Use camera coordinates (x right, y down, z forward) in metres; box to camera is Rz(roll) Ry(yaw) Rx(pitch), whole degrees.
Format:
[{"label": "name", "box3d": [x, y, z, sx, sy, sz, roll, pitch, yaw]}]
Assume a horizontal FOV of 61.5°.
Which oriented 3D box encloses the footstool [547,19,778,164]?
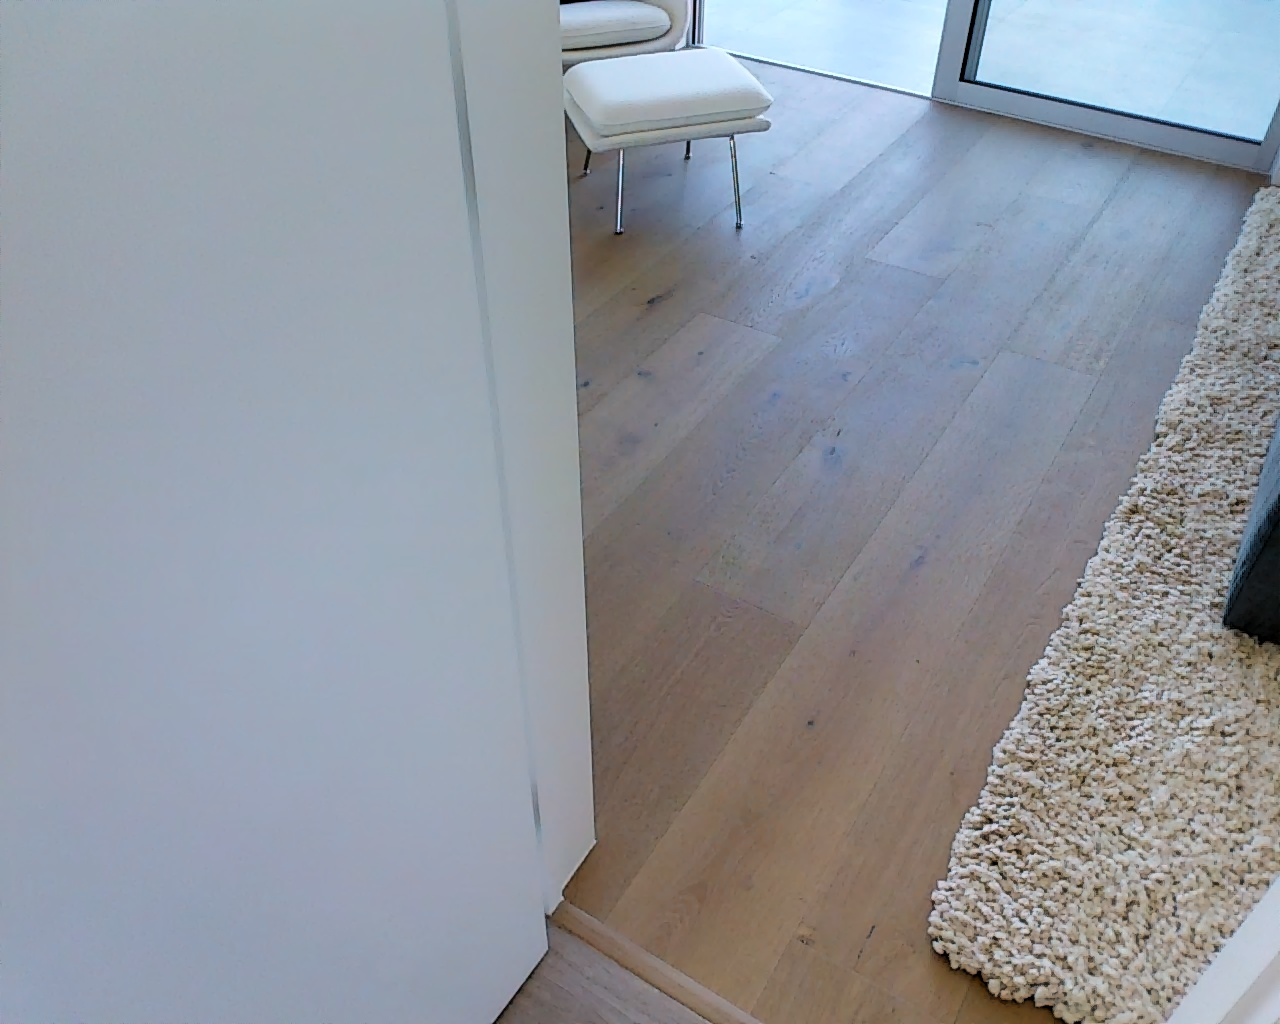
[{"label": "footstool", "box3d": [0.050, -1.340, 3.390, 0.590, 0.180, 0.610, -8, 43, -10]}]
